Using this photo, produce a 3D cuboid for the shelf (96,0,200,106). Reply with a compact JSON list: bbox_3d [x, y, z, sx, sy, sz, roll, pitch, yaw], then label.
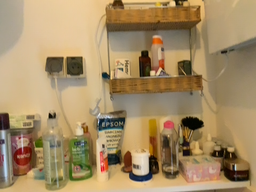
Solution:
[{"bbox_3d":[0.070,-0.150,0.780,0.350,0.350,0.120,-2,3,-4],"label":"shelf"}]
